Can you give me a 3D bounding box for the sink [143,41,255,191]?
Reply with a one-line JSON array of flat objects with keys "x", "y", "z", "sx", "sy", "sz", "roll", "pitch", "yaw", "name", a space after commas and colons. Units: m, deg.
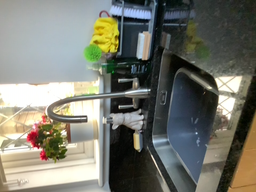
[{"x": 0.230, "y": 0.080, "z": 0.700, "sx": 0.410, "sy": 0.210, "sz": 0.430, "roll": -118, "pitch": 29, "yaw": -60, "name": "sink"}]
